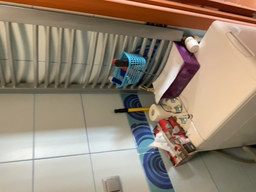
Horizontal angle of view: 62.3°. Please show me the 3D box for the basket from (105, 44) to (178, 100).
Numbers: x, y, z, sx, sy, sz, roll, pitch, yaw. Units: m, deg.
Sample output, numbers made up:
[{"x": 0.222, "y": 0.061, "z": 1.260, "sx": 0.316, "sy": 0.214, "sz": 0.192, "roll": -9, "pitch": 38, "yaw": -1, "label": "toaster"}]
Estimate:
[{"x": 0.060, "y": -0.120, "z": 1.160, "sx": 0.250, "sy": 0.300, "sz": 0.150, "roll": 114, "pitch": 147, "yaw": -43, "label": "basket"}]
